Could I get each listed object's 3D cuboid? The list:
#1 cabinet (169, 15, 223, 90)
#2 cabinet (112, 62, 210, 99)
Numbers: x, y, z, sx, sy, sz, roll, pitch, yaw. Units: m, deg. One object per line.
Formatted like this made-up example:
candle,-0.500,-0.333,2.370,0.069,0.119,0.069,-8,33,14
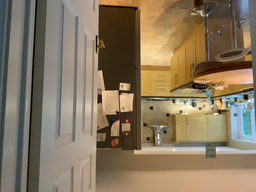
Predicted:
cabinet,1.100,-0.640,3.770,0.270,0.860,1.600,1,174,-6
cabinet,0.900,-0.400,6.020,2.690,0.900,0.590,1,174,-6
